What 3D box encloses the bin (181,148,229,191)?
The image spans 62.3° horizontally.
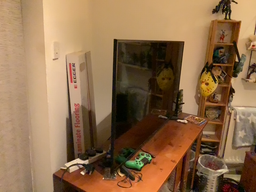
[{"bbox_3d":[0.710,0.750,2.020,0.300,0.370,0.320,3,15,2],"label":"bin"}]
